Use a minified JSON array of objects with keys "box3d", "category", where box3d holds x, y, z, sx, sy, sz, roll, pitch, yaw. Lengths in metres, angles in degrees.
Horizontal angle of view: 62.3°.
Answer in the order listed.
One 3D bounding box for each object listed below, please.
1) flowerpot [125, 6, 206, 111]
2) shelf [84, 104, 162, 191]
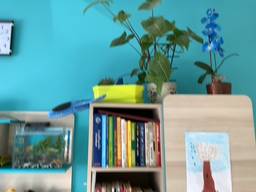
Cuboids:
[{"box3d":[0.170,-0.160,1.230,0.320,0.450,0.500,1,-9,-7],"category":"flowerpot"},{"box3d":[-0.040,0.500,1.150,0.350,0.870,0.420,1,-9,-6],"category":"shelf"}]
